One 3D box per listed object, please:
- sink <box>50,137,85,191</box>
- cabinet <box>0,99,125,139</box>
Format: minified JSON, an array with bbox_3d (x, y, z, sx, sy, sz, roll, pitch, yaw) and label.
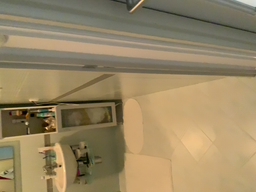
[{"bbox_3d":[-0.670,0.750,2.310,0.470,0.220,0.540,-12,81,58],"label":"sink"},{"bbox_3d":[-0.910,0.240,2.330,0.310,1.840,0.320,-12,81,58],"label":"cabinet"}]
